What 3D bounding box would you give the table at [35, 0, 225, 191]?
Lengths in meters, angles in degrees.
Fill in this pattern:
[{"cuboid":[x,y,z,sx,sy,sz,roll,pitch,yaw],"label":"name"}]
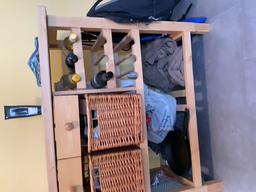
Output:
[{"cuboid":[-0.020,0.080,1.210,0.550,0.840,0.940,175,91,-70],"label":"table"}]
